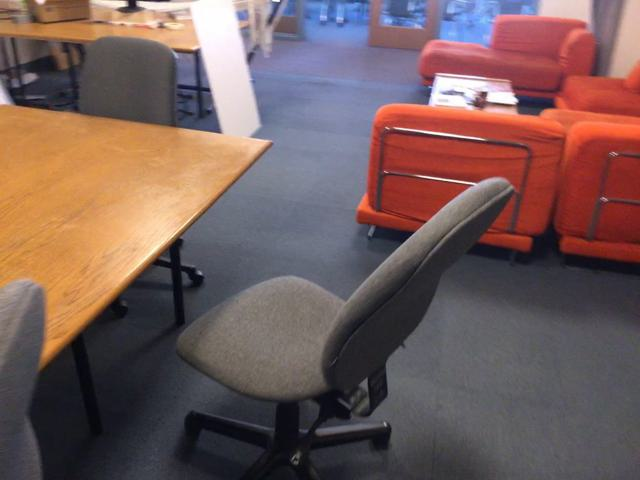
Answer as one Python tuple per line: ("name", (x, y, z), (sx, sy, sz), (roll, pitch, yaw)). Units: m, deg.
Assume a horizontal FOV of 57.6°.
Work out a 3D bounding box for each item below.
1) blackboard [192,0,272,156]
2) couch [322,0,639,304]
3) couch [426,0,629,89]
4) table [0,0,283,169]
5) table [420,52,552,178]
("blackboard", (-0.610, -1.240, 4.080), (0.200, 1.030, 0.820), (16, 35, 10))
("couch", (1.190, -0.610, 3.120), (1.940, 0.940, 1.670), (8, 33, 15))
("couch", (1.820, -1.900, 5.280), (1.520, 0.670, 0.940), (8, 33, 15))
("table", (-1.380, -1.310, 4.350), (1.810, 0.890, 1.330), (8, 33, 15))
("table", (1.230, -0.970, 4.250), (0.760, 0.420, 1.340), (8, 33, 15))
